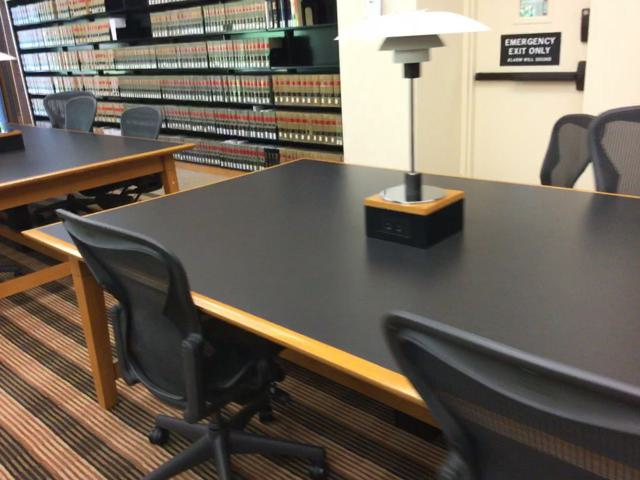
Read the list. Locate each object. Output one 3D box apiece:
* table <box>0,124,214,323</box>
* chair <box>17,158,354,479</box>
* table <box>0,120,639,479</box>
[{"bbox_3d":[-1.650,-0.220,3.700,1.090,0.780,1.470,14,26,40],"label":"table"},{"bbox_3d":[-0.360,0.320,1.780,0.620,0.980,0.650,14,26,40],"label":"chair"},{"bbox_3d":[0.730,0.350,1.540,3.600,0.940,1.600,14,26,40],"label":"table"}]
